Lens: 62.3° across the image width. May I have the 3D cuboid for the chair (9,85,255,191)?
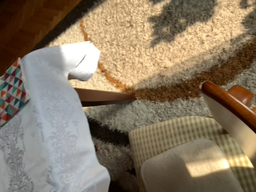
[{"bbox_3d":[0.230,0.270,0.680,0.490,0.920,0.410,-17,78,31],"label":"chair"}]
